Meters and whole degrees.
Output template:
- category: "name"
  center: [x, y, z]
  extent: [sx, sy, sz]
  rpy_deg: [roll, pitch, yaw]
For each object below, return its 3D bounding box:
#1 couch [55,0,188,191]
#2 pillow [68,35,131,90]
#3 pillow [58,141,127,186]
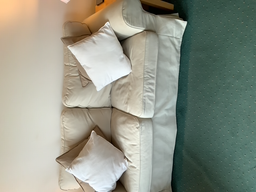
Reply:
- category: "couch"
  center: [-0.130, 0.110, 1.950]
  extent: [0.920, 0.790, 1.780]
  rpy_deg: [9, 97, 57]
- category: "pillow"
  center: [-0.220, -0.260, 1.760]
  extent: [0.220, 0.410, 0.340]
  rpy_deg: [37, 105, 14]
- category: "pillow"
  center: [-0.270, 0.580, 1.810]
  extent: [0.500, 0.330, 0.260]
  rpy_deg: [4, 60, 3]
